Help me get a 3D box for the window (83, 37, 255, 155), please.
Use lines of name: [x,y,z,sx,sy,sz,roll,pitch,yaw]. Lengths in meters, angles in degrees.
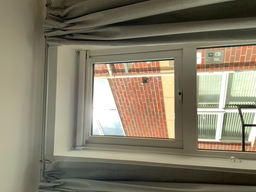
window: [0.370,0.000,1.150,0.060,1.320,0.580,11,-101,-74]
